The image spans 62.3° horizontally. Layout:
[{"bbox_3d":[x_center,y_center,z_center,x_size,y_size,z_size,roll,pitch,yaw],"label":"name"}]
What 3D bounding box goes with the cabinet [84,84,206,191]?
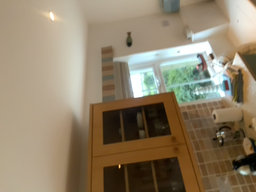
[{"bbox_3d":[0.090,0.460,1.760,0.310,0.800,1.090,78,-176,-50],"label":"cabinet"}]
